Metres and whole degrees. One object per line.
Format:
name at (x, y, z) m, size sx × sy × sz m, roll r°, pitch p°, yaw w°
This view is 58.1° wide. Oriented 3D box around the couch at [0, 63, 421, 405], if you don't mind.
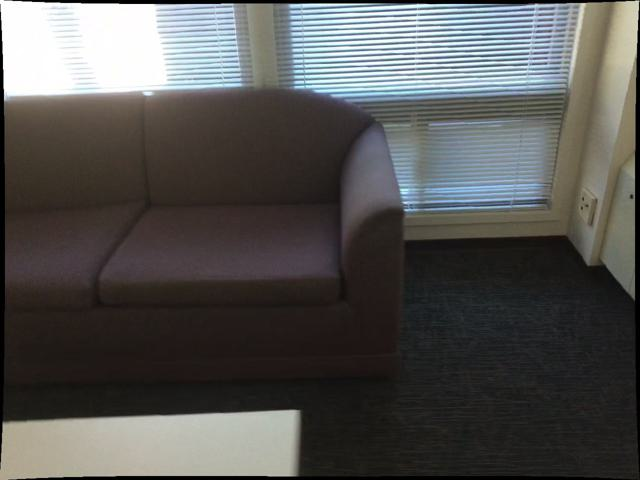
couch at (-0.619, -0.080, 2.100) m, size 1.777 × 0.801 × 1.000 m, roll -3°, pitch 29°, yaw 1°
